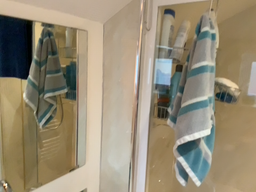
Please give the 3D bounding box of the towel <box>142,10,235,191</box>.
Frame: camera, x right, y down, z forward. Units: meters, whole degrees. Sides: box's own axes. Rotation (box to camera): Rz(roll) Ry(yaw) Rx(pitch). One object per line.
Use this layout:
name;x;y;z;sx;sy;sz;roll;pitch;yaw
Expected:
towel;0.200;0.050;0.730;0.210;0.610;0.160;9;12;31

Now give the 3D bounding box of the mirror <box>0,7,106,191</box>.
mirror;-0.360;0.100;0.720;0.080;0.720;0.800;9;11;30
